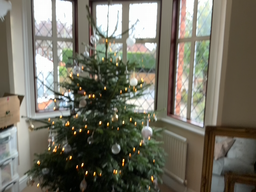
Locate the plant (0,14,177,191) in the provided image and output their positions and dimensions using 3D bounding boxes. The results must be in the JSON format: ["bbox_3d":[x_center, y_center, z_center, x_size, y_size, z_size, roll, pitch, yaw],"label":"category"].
[{"bbox_3d":[-0.280,0.240,2.400,1.510,1.930,1.300,4,10,12],"label":"plant"}]
